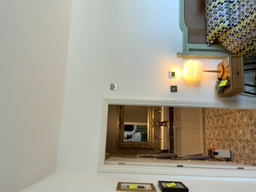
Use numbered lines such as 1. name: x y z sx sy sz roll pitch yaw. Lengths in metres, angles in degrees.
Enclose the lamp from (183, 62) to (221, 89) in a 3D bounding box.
1. lamp: 0.910 -0.250 2.630 0.170 0.410 0.280 92 180 -82
